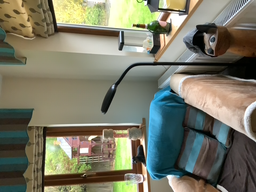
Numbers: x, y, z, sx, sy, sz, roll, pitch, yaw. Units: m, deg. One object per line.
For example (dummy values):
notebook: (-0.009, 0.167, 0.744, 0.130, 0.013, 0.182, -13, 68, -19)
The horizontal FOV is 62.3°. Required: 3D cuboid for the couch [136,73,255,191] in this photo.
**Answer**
couch: (0.680, 0.430, 1.670, 1.140, 0.910, 1.030, -130, 42, -71)
